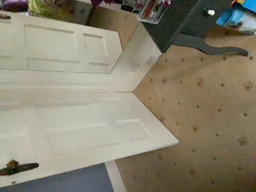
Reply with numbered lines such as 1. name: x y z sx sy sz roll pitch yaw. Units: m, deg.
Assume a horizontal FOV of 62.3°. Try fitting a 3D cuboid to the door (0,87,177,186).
1. door: -0.570 0.180 1.400 0.750 1.960 0.030 49 129 39
